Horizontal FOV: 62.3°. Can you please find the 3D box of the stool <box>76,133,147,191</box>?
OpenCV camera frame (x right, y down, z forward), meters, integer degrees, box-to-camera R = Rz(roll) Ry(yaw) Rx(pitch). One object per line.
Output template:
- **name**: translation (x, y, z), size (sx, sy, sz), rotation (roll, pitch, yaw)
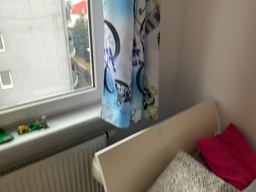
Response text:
- **stool**: translation (-0.110, 0.660, 1.430), size (0.290, 0.670, 0.340), rotation (-17, 30, -36)
